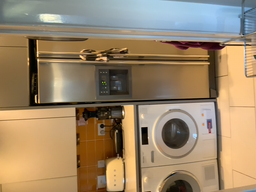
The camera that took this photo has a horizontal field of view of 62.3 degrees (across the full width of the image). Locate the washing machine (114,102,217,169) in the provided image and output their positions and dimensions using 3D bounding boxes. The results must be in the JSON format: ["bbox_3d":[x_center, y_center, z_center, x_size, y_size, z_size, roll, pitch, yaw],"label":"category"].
[{"bbox_3d":[0.370,0.380,2.420,0.720,0.910,0.580,171,97,-75],"label":"washing machine"}]
